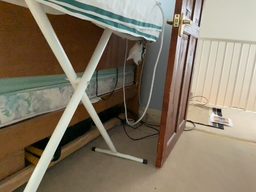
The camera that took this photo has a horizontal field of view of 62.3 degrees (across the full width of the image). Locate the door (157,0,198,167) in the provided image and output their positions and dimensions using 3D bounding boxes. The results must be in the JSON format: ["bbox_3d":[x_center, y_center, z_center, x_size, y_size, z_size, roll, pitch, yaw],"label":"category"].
[{"bbox_3d":[0.390,-0.610,1.300,0.040,1.960,0.670,10,13,18],"label":"door"}]
